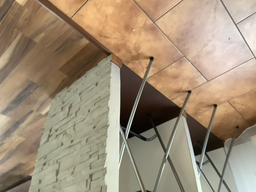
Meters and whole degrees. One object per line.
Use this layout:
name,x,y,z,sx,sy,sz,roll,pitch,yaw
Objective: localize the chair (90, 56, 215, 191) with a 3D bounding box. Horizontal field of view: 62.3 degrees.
chair,0.120,0.360,1.180,0.480,1.020,0.420,-30,133,30
